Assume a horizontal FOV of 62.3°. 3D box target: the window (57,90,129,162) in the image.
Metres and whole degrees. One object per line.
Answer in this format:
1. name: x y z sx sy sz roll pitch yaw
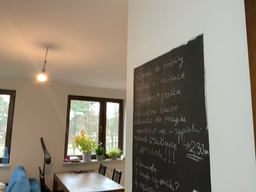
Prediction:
1. window: -0.780 0.720 5.070 1.610 1.560 0.240 5 -9 -24

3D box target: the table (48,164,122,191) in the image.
1. table: -0.840 1.730 3.690 0.820 0.760 1.660 6 -10 -27
